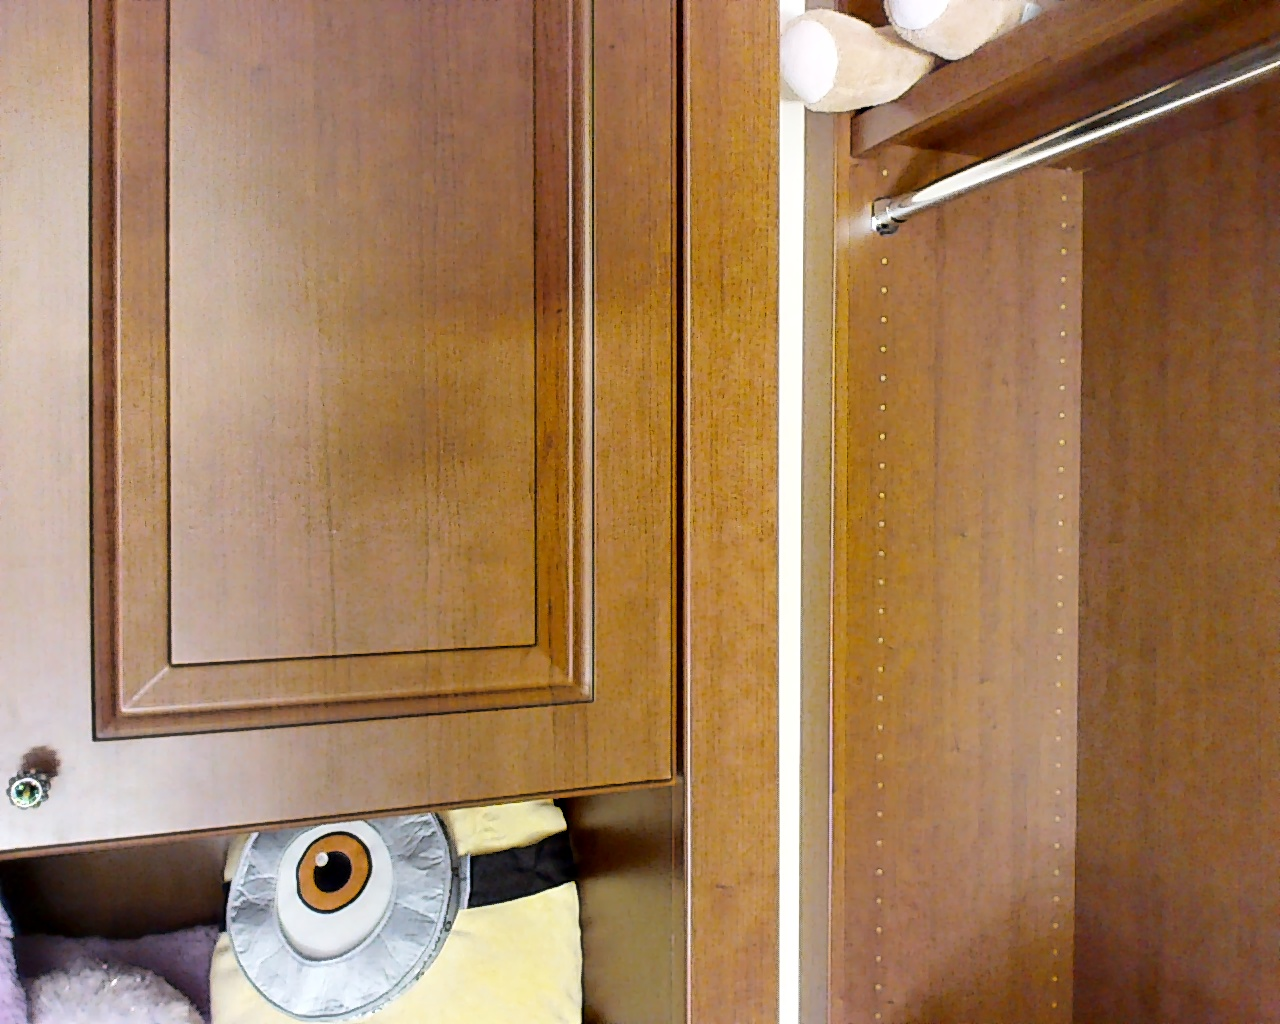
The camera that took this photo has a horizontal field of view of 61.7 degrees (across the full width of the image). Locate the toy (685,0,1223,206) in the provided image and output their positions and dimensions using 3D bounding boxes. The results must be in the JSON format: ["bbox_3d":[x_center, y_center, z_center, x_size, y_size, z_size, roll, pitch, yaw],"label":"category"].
[{"bbox_3d":[0.320,-0.530,1.060,0.440,0.300,0.340,0,1,-45],"label":"toy"}]

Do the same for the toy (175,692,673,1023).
[{"bbox_3d":[-0.180,0.370,0.790,0.290,0.400,0.350,0,1,-22],"label":"toy"}]
